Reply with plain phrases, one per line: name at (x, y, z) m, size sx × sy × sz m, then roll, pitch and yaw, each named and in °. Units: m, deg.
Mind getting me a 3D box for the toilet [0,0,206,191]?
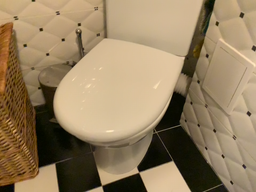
toilet at (0.010, -0.110, 0.810) m, size 0.370 × 0.740 × 0.700 m, roll 18°, pitch 45°, yaw 15°
